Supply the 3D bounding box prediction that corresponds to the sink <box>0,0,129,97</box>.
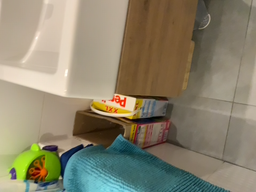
[{"bbox_3d":[-0.210,-0.320,0.550,0.450,0.140,0.580,11,94,35],"label":"sink"}]
